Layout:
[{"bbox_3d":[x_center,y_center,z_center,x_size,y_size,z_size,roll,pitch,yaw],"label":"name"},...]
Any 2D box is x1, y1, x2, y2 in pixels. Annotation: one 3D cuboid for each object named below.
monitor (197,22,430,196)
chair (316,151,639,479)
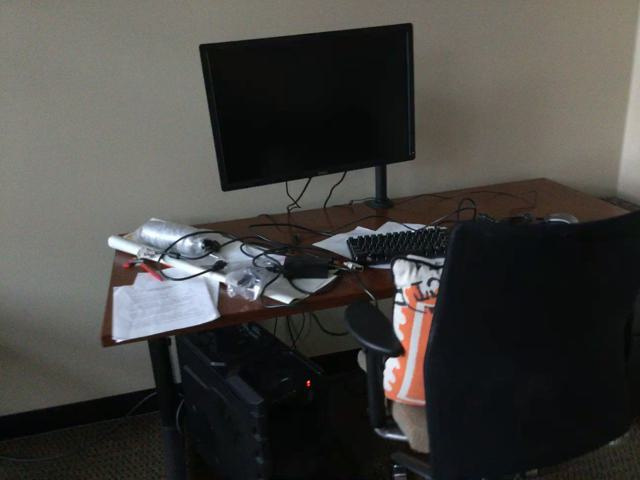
[{"bbox_3d":[-0.010,-0.340,1.510,0.580,0.410,0.100,-4,16,-14],"label":"monitor"},{"bbox_3d":[0.390,0.350,1.340,0.650,1.010,0.650,-4,16,-14],"label":"chair"}]
